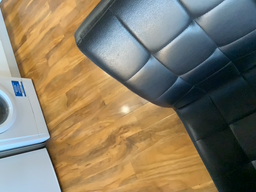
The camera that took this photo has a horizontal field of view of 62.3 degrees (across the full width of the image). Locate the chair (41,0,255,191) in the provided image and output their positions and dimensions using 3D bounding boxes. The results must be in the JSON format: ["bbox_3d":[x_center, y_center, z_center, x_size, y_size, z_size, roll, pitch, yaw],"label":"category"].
[{"bbox_3d":[0.350,0.050,0.700,0.430,0.950,0.620,-37,72,25],"label":"chair"}]
